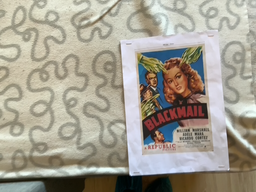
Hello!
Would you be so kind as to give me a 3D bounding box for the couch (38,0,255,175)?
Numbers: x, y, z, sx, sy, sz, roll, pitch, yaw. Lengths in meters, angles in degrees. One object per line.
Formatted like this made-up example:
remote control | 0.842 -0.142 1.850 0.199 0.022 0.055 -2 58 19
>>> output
couch | 0.070 -0.170 0.720 0.550 0.470 0.690 -3 86 0
